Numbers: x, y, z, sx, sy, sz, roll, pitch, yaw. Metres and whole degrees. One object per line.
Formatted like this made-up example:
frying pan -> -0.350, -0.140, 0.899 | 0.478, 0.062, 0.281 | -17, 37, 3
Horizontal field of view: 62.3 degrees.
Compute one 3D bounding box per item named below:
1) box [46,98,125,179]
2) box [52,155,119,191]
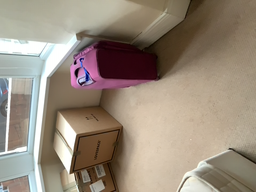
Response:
box -> -0.480, 0.410, 2.290 | 0.540, 0.570, 0.570 | 37, 120, 42
box -> -0.410, 1.170, 2.270 | 0.470, 0.500, 0.890 | -32, 69, 46
